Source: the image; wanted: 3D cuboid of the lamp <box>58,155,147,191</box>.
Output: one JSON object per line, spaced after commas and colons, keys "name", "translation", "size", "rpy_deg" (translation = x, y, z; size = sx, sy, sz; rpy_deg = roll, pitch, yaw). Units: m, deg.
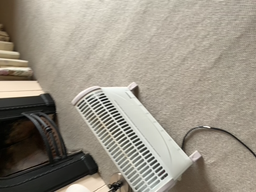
{"name": "lamp", "translation": [-0.150, 0.530, 1.100], "size": [0.220, 0.450, 0.230], "rpy_deg": [49, 119, 21]}
